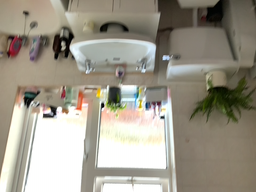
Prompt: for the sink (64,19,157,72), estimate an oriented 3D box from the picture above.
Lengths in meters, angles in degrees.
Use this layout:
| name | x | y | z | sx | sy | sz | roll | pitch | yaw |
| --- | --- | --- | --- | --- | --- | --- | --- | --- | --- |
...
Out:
| name | x | y | z | sx | sy | sz | roll | pitch | yaw |
| --- | --- | --- | --- | --- | --- | --- | --- | --- | --- |
| sink | -0.100 | -0.340 | 1.510 | 0.580 | 0.200 | 0.360 | 0 | 161 | 4 |
